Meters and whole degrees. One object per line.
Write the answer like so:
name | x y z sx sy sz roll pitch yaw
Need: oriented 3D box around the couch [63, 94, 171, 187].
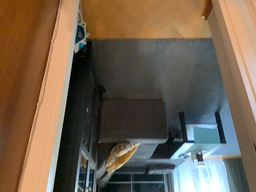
couch | -0.140 0.910 3.430 1.100 0.810 2.450 0 152 -1
